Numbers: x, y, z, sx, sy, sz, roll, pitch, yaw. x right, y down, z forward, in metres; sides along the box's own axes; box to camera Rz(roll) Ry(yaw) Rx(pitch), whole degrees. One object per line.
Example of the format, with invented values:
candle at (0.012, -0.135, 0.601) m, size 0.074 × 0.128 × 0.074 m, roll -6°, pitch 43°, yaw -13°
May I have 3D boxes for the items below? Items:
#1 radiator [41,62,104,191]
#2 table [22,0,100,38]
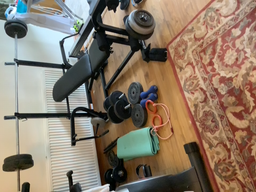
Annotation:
radiator at (-0.720, 0.410, 2.650) m, size 0.140 × 0.600 × 1.750 m, roll -37°, pitch 58°, yaw 51°
table at (-0.840, -1.500, 2.840) m, size 1.450 × 0.870 × 0.420 m, roll -43°, pitch 53°, yaw 48°
